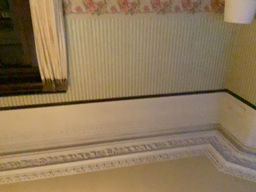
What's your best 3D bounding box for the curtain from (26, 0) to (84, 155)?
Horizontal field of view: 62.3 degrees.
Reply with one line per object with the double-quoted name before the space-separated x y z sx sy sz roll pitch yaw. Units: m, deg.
"curtain" -0.980 -0.830 2.720 0.390 3.440 0.570 -14 -151 -30
